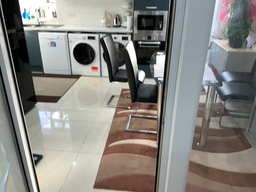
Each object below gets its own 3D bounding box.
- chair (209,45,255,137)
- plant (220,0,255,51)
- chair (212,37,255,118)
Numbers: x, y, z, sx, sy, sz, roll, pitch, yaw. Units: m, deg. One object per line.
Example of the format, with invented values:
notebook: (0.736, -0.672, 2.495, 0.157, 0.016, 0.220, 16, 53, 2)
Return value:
chair: (1.450, -0.060, 2.610, 0.660, 1.010, 0.420, 6, 25, 12)
plant: (1.840, -1.300, 3.370, 0.450, 1.070, 0.430, 5, 24, 9)
chair: (1.670, -0.260, 3.020, 0.660, 1.040, 0.420, 4, 24, 7)
